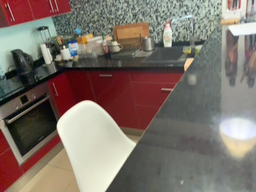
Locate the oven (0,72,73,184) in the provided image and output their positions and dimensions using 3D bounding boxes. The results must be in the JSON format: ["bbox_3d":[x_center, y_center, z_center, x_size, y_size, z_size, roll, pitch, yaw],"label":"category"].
[{"bbox_3d":[-1.140,0.290,2.240,0.600,0.900,0.640,4,30,28],"label":"oven"}]
